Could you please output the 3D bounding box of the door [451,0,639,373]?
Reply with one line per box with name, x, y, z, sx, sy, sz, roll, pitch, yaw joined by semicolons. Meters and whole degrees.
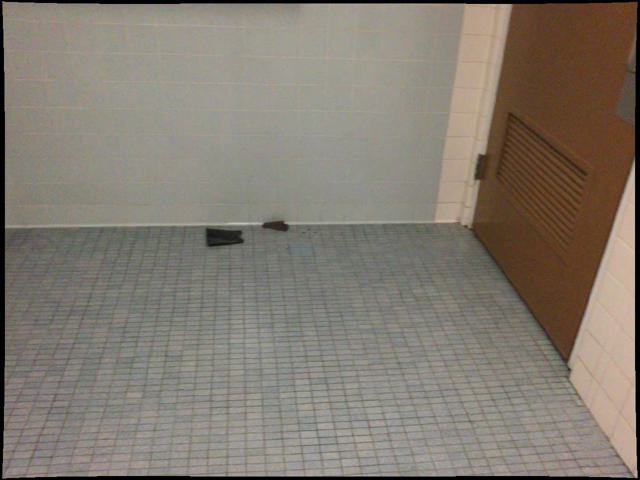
door;0.758;-0.391;1.950;0.080;1.423;0.860;-1;29;-10
